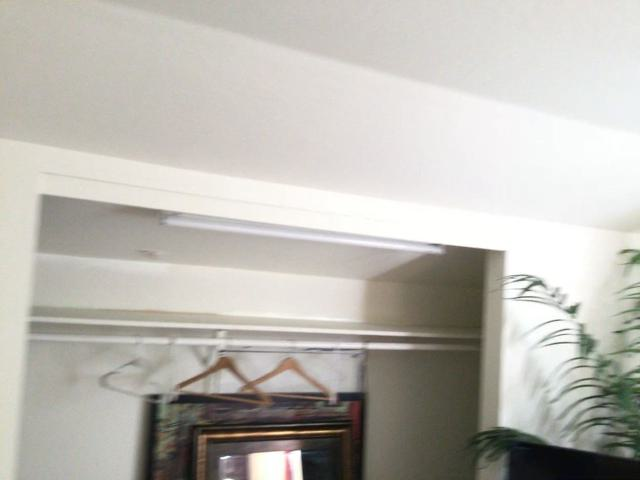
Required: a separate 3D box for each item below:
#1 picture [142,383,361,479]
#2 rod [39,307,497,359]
[{"bbox_3d":[-0.310,1.230,2.580,0.960,1.080,0.180,12,-15,-26],"label":"picture"},{"bbox_3d":[-0.120,0.410,2.630,2.070,0.180,0.380,4,-9,-26],"label":"rod"}]
